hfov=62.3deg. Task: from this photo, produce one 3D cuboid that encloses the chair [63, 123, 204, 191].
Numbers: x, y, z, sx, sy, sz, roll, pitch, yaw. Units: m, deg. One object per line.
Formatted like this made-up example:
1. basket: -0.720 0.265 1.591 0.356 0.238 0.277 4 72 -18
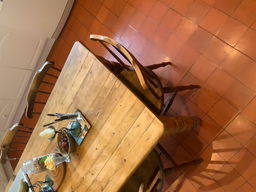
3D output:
1. chair: 0.080 0.490 1.400 0.430 0.780 0.390 43 113 31
